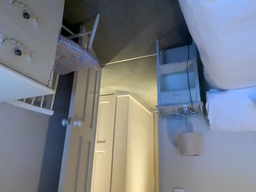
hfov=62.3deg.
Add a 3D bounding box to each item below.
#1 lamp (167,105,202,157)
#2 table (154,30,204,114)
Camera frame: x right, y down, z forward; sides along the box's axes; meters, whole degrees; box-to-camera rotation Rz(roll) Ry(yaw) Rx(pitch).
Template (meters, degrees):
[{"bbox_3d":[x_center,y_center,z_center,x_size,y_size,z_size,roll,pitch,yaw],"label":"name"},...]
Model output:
[{"bbox_3d":[0.470,0.300,1.770,0.240,0.390,0.200,-6,159,22],"label":"lamp"},{"bbox_3d":[0.460,-0.210,1.960,0.380,0.680,0.260,-7,159,23],"label":"table"}]
